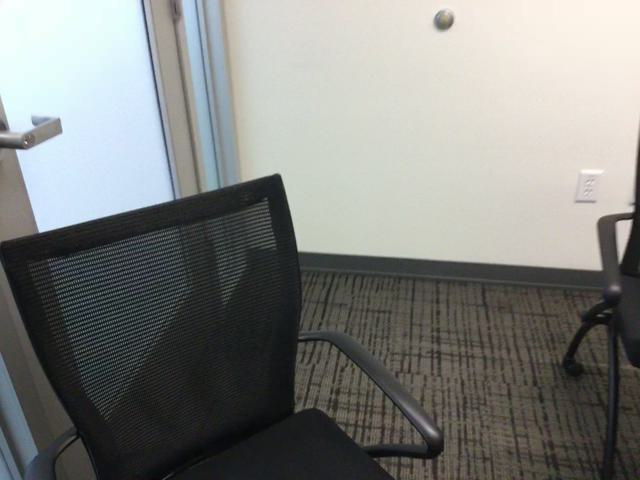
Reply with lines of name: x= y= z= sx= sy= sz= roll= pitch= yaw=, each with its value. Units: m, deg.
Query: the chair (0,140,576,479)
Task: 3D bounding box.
chair: x=-0.130 y=0.430 z=0.950 sx=0.610 sy=0.930 sz=0.670 roll=-18 pitch=30 yaw=-22
